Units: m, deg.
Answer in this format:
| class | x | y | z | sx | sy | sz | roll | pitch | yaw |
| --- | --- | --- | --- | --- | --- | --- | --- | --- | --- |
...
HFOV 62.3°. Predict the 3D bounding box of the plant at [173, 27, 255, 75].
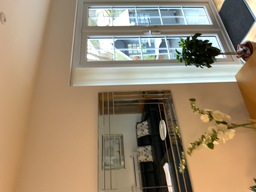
| class | x | y | z | sx | sy | sz | roll | pitch | yaw |
| --- | --- | --- | --- | --- | --- | --- | --- | --- | --- |
| plant | 1.000 | -0.490 | 2.310 | 0.340 | 0.900 | 0.370 | 94 | 173 | -57 |
